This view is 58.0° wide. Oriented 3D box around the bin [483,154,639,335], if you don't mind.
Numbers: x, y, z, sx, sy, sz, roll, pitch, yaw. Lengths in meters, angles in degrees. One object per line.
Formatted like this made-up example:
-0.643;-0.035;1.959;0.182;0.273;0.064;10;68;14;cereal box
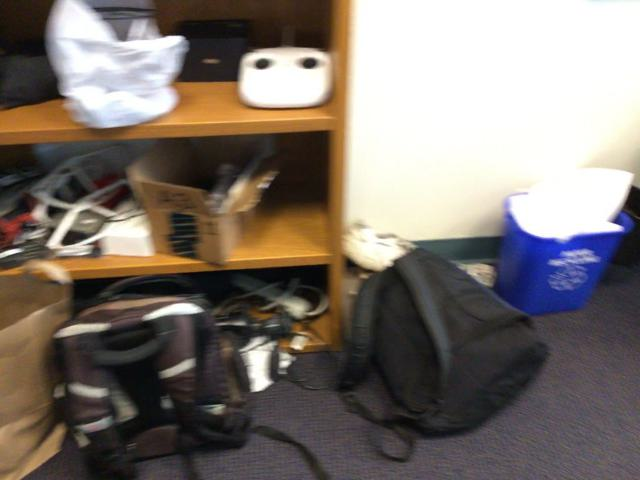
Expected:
0.700;0.010;1.560;0.410;0.350;0.290;-5;36;0;bin

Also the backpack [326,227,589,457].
0.280;0.230;1.370;0.490;0.320;0.380;-5;36;0;backpack

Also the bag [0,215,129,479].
-0.700;0.250;1.220;0.400;0.460;0.340;-5;36;0;bag

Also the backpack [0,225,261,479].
-0.370;0.270;1.220;0.420;0.450;0.350;-5;36;0;backpack
